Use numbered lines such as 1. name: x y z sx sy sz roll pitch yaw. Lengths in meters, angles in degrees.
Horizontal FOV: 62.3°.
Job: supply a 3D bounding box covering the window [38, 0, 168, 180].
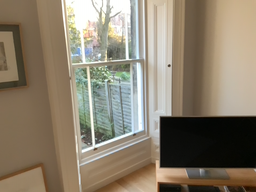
1. window: -0.160 -0.460 2.420 1.420 2.330 0.400 -13 17 -39
